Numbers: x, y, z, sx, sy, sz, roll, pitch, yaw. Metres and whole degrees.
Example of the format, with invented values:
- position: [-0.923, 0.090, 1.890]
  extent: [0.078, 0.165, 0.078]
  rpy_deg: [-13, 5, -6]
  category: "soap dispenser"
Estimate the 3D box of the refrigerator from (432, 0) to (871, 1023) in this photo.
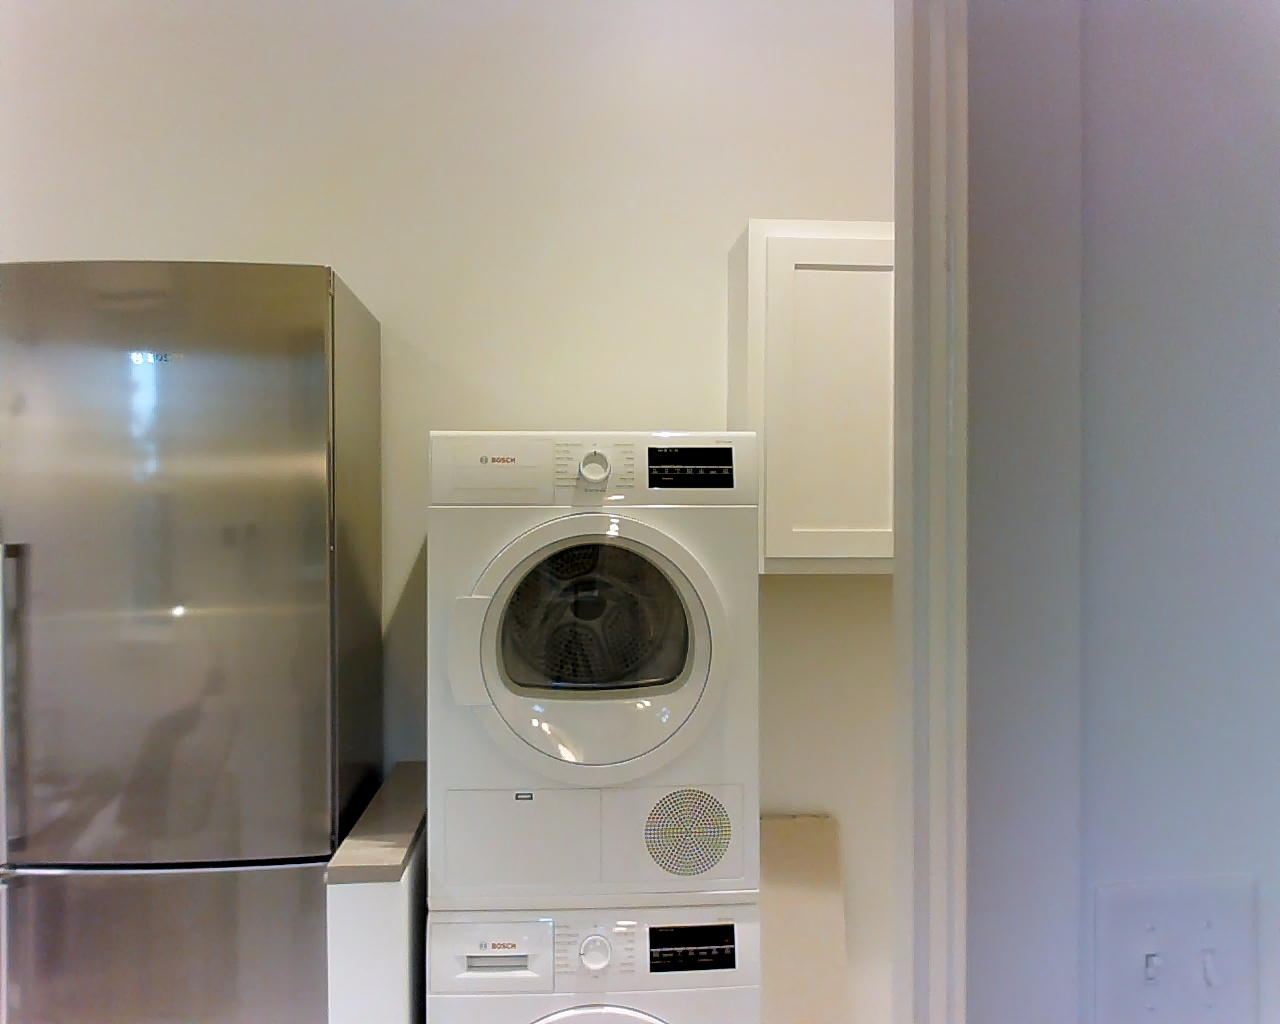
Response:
- position: [0.010, 0.220, 1.820]
  extent: [0.650, 1.970, 0.420]
  rpy_deg: [0, 1, -4]
  category: "refrigerator"
